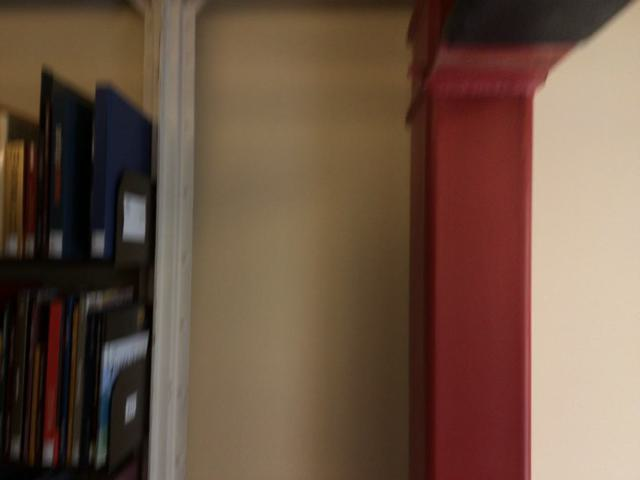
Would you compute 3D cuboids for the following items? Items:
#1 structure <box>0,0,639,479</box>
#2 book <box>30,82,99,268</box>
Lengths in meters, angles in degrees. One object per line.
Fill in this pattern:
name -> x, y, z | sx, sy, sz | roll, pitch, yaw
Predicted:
structure -> -0.530, 0.400, 1.250 | 3.220, 2.350, 0.320 | 2, -2, 4
book -> -0.460, -0.110, 1.050 | 0.050, 0.320, 0.120 | 2, -2, 4
